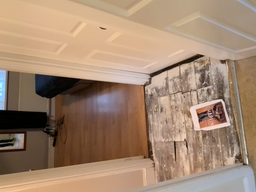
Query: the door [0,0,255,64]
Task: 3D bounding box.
[{"bbox_3d":[0.100,-0.330,0.630,0.810,1.950,0.040,-6,82,54],"label":"door"}]
